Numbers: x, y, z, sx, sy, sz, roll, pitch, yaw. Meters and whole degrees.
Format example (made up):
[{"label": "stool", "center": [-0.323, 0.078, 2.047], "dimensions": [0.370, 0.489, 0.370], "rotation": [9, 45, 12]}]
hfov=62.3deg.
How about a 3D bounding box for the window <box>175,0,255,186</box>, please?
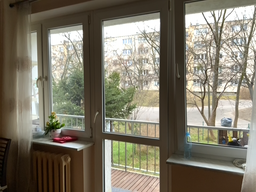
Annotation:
[{"label": "window", "center": [0.770, -0.120, 1.810], "dimensions": [0.660, 1.580, 0.240], "rotation": [2, 4, 28]}]
